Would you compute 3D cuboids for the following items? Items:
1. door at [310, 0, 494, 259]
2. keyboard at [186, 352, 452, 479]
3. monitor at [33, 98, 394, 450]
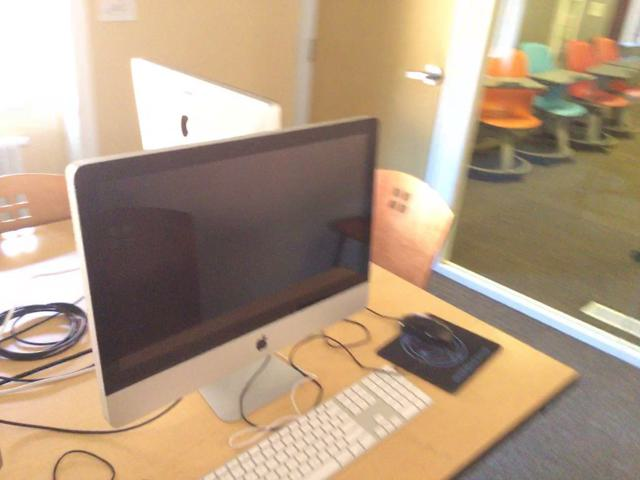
[{"bbox_3d":[0.340,-0.660,2.850,0.280,1.270,0.800,-20,35,-38],"label":"door"},{"bbox_3d":[0.020,0.300,0.890,0.440,0.030,0.120,-20,35,-38],"label":"keyboard"},{"bbox_3d":[-0.120,0.020,0.910,0.530,0.400,0.110,-20,35,-38],"label":"monitor"}]
